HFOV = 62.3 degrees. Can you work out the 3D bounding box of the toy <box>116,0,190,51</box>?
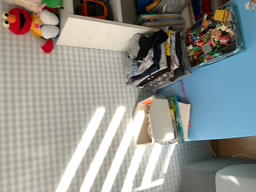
[{"bbox_3d":[0.120,-0.700,1.270,0.270,0.310,0.770,-14,79,60],"label":"toy"}]
